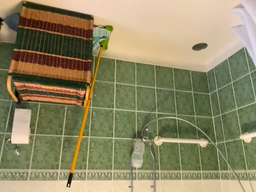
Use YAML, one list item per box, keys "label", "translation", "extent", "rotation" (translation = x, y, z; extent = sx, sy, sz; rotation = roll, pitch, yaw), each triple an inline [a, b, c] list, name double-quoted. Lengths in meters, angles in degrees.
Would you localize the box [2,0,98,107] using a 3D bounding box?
- label: "box"
  translation: [-0.540, -0.300, 1.570]
  extent: [0.510, 0.620, 0.460]
  rotation: [7, 160, -19]
